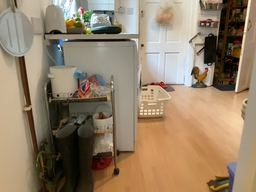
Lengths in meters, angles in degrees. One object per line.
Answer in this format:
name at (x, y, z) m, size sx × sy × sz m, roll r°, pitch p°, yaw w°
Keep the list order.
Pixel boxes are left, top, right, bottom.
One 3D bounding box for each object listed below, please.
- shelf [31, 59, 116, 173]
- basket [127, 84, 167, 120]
shelf at (-0.320, 0.120, 1.390) m, size 0.450 × 0.680 × 0.240 m, roll -2°, pitch 17°, yaw -7°
basket at (0.200, 0.050, 2.480) m, size 0.360 × 0.240 × 0.560 m, roll -2°, pitch 17°, yaw -6°
